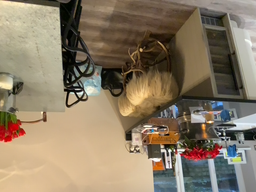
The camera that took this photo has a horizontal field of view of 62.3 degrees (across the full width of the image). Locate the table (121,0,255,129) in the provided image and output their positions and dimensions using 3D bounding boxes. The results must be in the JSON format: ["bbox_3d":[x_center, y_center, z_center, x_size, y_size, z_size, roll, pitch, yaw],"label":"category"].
[{"bbox_3d":[0.600,-0.180,2.560,0.990,0.900,1.490,3,161,-17],"label":"table"}]

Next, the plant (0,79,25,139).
[{"bbox_3d":[-0.900,0.100,1.500,0.240,0.380,0.240,2,161,-16],"label":"plant"}]
